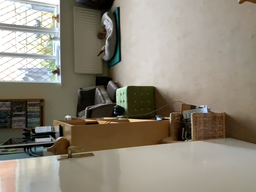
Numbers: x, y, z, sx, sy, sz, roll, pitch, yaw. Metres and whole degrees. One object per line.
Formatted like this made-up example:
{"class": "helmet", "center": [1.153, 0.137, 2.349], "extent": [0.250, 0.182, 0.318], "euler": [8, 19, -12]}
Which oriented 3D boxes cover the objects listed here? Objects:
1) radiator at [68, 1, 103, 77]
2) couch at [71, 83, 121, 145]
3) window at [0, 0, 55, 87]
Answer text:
{"class": "radiator", "center": [-0.800, -1.050, 4.010], "extent": [0.110, 0.610, 1.350], "euler": [173, 96, -65]}
{"class": "couch", "center": [-0.590, 0.280, 3.680], "extent": [0.710, 0.600, 0.770], "euler": [-124, 41, -50]}
{"class": "window", "center": [-2.050, -1.060, 3.790], "extent": [0.380, 1.360, 1.750], "euler": [174, 95, -65]}
